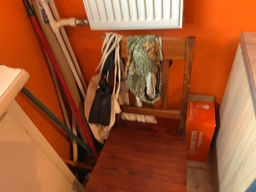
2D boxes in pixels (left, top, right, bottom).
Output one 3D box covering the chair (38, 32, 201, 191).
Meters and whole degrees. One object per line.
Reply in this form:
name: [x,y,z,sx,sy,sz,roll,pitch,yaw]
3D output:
chair: [0.070,0.240,1.050,0.430,0.920,0.520,6,48,15]
